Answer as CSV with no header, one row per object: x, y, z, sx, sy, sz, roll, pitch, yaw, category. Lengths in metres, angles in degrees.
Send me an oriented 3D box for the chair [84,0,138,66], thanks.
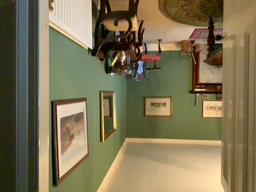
-0.190,-0.840,2.720,0.580,0.850,0.520,1,-178,8,chair

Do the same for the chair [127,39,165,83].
0.440,-0.850,5.380,0.720,0.970,0.750,0,-179,-17,chair

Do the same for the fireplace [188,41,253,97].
2.260,-0.630,5.320,1.320,1.300,0.730,1,-179,6,fireplace
